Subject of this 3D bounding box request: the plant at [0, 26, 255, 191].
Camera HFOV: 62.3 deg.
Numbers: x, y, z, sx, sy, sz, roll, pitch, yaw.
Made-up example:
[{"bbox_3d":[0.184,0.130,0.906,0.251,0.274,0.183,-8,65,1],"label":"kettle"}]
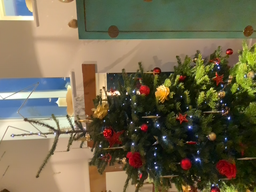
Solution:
[{"bbox_3d":[0.320,0.290,1.800,1.200,2.210,1.620,-110,20,-70],"label":"plant"}]
